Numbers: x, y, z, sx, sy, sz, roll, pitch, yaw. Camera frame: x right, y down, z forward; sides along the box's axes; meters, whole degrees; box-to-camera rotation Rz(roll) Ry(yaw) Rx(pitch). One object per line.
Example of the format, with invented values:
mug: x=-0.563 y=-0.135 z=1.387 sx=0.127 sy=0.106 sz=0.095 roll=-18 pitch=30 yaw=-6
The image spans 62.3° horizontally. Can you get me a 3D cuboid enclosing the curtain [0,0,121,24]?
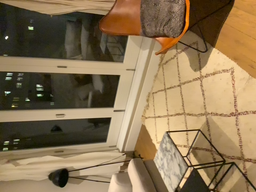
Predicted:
curtain: x=-0.810 y=-0.910 z=1.900 sx=0.150 sy=1.510 sz=0.320 roll=-117 pitch=33 yaw=-49

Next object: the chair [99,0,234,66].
chair: x=0.290 y=-0.790 z=1.960 sx=0.710 sy=0.890 sz=0.730 roll=-117 pitch=33 yaw=-49

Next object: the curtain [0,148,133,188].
curtain: x=-0.940 y=1.080 z=3.270 sx=0.230 sy=2.070 sz=0.280 roll=-117 pitch=33 yaw=-49
